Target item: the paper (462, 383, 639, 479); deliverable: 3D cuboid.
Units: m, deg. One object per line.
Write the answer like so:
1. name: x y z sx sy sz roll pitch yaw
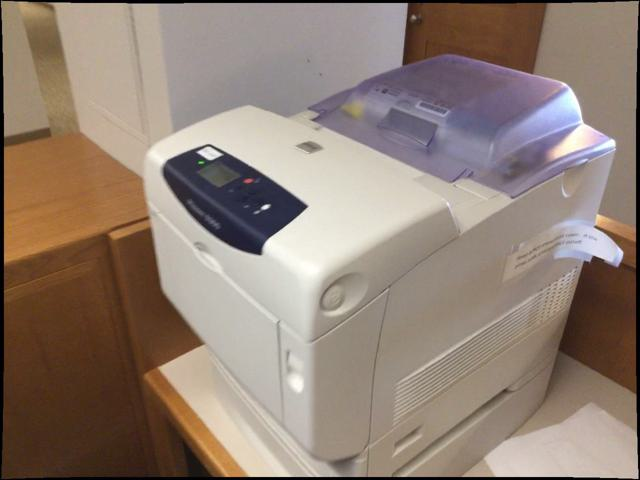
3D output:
1. paper: 0.449 0.401 0.970 0.320 0.020 0.260 -22 40 -28

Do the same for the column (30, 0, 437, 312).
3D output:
1. column: -0.219 -0.501 1.230 0.609 0.921 0.690 -22 40 -28

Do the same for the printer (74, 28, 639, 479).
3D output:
1. printer: 0.090 0.080 0.920 0.649 0.601 0.530 -22 40 -28
